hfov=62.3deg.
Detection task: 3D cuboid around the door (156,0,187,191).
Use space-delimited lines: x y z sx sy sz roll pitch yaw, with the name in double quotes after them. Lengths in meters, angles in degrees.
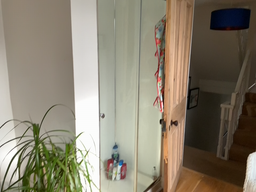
0.430 -0.030 2.030 0.080 2.070 0.790 5 13 19 "door"
